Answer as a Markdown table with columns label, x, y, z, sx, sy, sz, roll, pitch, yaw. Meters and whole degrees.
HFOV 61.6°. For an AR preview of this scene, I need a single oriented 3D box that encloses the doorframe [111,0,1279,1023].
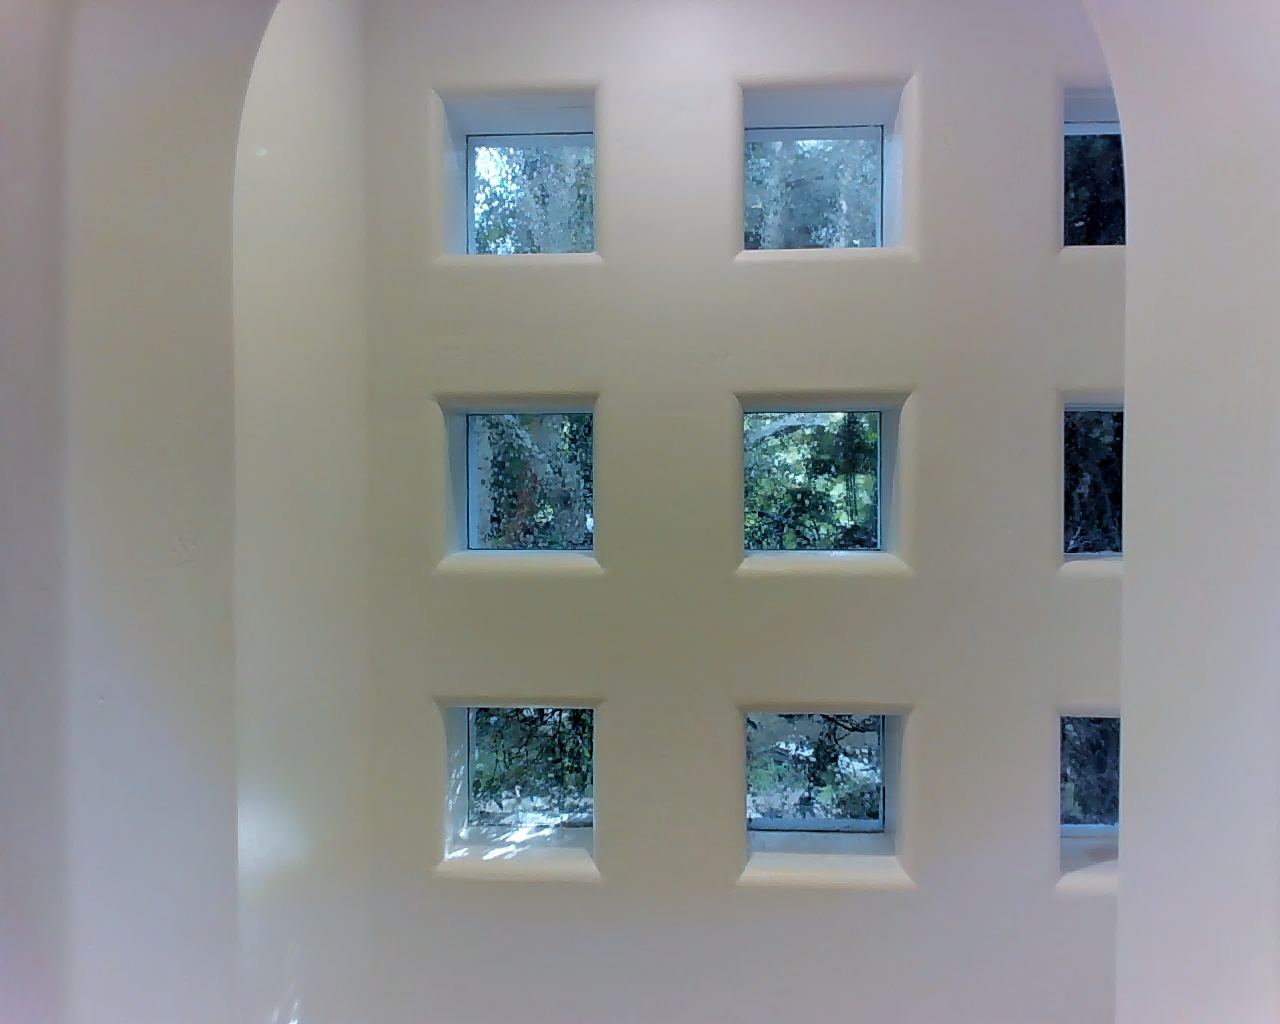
| label | x | y | z | sx | sy | sz | roll | pitch | yaw |
| --- | --- | --- | --- | --- | --- | --- | --- | --- | --- |
| doorframe | 0.050 | 0.380 | 1.090 | 1.020 | 2.361 | 0.290 | 0 | 1 | 4 |
